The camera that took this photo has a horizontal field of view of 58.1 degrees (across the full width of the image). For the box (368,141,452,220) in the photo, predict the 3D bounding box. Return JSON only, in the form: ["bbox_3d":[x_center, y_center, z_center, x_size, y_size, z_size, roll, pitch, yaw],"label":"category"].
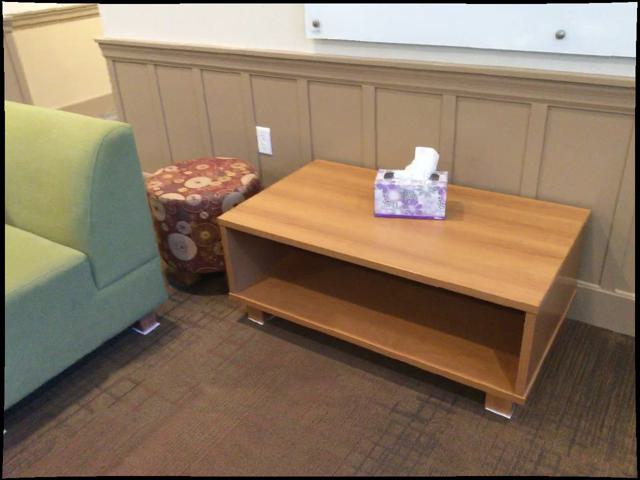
[{"bbox_3d":[0.299,-0.201,1.900,0.249,0.190,0.190,4,30,14],"label":"box"}]

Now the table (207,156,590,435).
[{"bbox_3d":[0.259,0.100,2.040,1.108,0.451,0.630,15,34,30],"label":"table"}]

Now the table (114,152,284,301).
[{"bbox_3d":[-0.489,-0.080,2.420,0.469,0.391,0.440,15,34,30],"label":"table"}]
